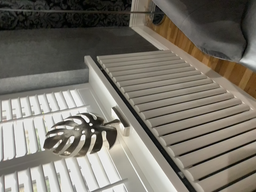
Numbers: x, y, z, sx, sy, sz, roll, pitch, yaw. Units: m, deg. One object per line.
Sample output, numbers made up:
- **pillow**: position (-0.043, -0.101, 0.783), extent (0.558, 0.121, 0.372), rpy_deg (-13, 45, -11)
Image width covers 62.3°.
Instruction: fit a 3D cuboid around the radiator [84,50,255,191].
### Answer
- **radiator**: position (0.360, 0.020, 1.290), extent (1.200, 0.920, 0.080), rpy_deg (50, 142, 46)
